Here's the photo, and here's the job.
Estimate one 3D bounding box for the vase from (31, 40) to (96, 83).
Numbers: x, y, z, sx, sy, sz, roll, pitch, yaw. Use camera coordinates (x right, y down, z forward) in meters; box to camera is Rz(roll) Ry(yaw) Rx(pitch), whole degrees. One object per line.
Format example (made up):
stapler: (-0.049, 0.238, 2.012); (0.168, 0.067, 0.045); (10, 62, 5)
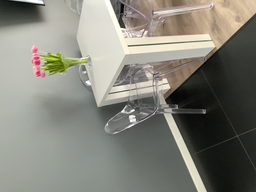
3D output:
vase: (-0.560, -0.310, 1.850); (0.280, 0.470, 0.190); (67, 151, 25)
